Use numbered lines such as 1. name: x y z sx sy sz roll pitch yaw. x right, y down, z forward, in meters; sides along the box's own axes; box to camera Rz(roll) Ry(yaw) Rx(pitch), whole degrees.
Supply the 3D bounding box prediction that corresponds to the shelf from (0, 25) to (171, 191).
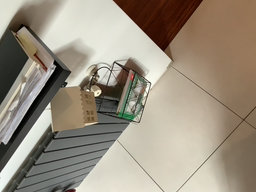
1. shelf: -0.460 0.220 0.610 0.190 1.970 0.830 42 103 23
